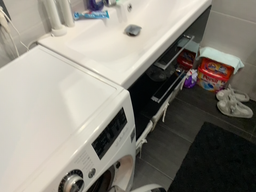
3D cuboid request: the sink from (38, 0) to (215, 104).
[{"bbox_3d":[0.060,-0.350,1.000,0.420,0.120,0.810,28,55,23],"label":"sink"}]
